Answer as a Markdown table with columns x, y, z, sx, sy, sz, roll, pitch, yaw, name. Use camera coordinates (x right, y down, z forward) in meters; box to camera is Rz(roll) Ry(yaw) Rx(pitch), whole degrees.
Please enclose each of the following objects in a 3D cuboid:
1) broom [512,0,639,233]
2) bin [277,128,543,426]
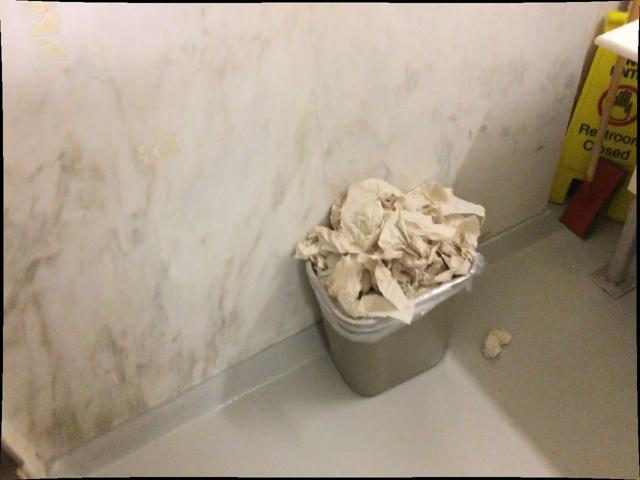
| x | y | z | sx | sy | sz | roll | pitch | yaw | name |
| --- | --- | --- | --- | --- | --- | --- | --- | --- | --- |
| 0.809 | -0.580 | 1.570 | 0.270 | 1.171 | 0.290 | -25 | 46 | -18 | broom |
| 0.210 | 0.090 | 1.410 | 0.470 | 0.500 | 0.320 | -25 | 46 | -18 | bin |
